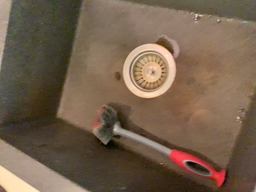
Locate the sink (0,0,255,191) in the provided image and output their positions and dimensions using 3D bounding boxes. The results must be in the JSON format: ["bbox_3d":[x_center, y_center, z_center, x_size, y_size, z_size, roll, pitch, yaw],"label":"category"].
[{"bbox_3d":[0.010,-0.020,0.380,0.510,0.210,0.420,19,100,22],"label":"sink"}]
